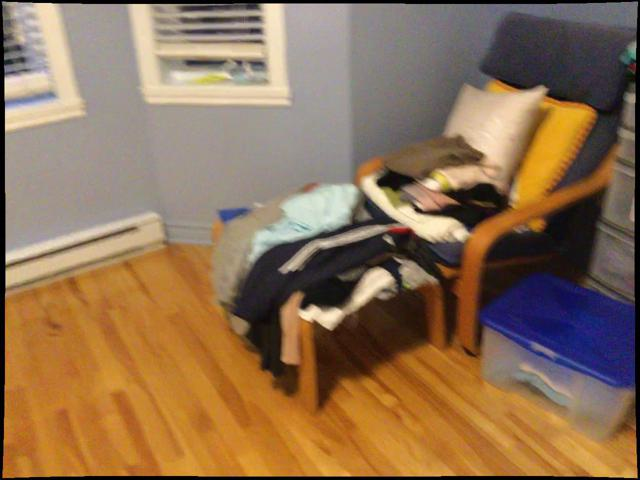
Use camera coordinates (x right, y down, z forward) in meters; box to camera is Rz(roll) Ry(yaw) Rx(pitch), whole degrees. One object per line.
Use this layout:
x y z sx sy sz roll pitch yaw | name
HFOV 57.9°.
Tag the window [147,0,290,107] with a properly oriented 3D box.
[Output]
-0.420 -1.161 2.050 0.440 1.331 0.240 3 30 14 | window
